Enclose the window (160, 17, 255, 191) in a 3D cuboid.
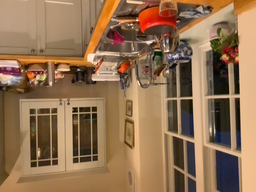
[{"bbox_3d":[0.700,0.350,1.940,0.120,1.690,1.420,-1,179,-19],"label":"window"}]
